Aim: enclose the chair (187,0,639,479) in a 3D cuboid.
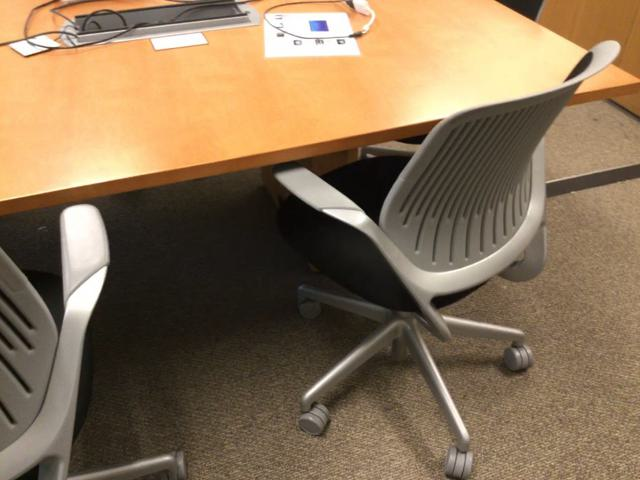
[{"bbox_3d":[0.230,-0.010,1.280,0.710,0.910,0.680,-22,46,-27],"label":"chair"}]
